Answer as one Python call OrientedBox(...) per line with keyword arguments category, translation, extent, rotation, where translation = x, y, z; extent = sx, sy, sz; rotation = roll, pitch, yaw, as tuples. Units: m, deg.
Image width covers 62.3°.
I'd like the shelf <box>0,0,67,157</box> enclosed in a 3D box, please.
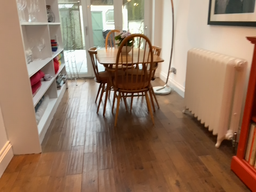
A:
OrientedBox(category="shelf", translation=(-1.080, -0.790, 2.510), extent=(0.260, 2.030, 2.140), rotation=(-4, 20, -9))
